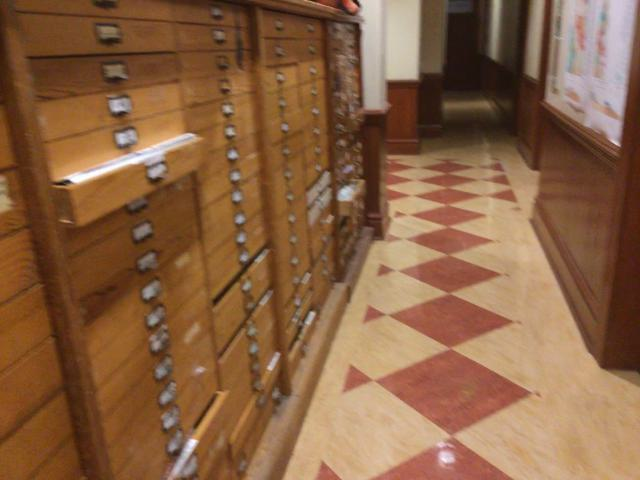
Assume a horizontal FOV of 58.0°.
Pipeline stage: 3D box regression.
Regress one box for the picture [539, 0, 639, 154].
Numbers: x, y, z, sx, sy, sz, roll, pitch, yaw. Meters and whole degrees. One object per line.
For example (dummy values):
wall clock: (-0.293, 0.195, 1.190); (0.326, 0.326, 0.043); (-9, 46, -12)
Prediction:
picture: (1.370, -1.080, 3.050); (0.080, 0.890, 1.790); (0, 20, 11)
